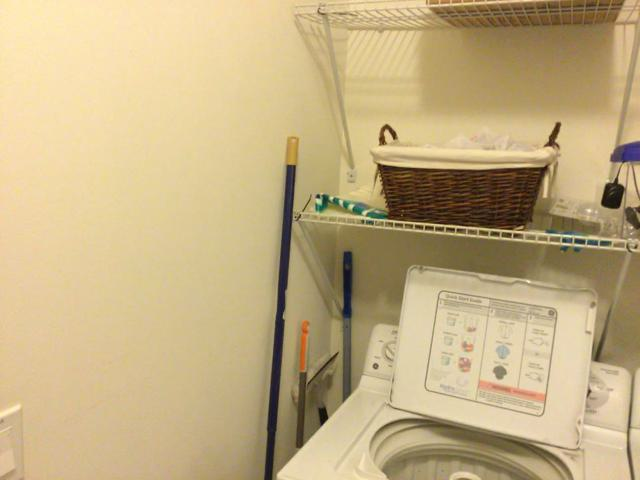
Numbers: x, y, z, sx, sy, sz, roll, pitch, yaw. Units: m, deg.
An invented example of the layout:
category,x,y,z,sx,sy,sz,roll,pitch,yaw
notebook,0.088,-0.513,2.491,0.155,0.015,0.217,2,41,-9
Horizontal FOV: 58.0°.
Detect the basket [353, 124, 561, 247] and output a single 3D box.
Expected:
category,x,y,z,sx,sy,sz,roll,pitch,yaw
basket,0.350,-0.150,1.450,0.440,0.250,0.310,6,10,23
